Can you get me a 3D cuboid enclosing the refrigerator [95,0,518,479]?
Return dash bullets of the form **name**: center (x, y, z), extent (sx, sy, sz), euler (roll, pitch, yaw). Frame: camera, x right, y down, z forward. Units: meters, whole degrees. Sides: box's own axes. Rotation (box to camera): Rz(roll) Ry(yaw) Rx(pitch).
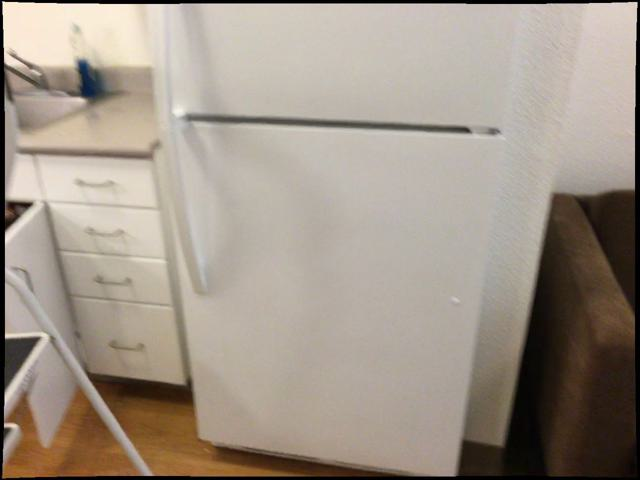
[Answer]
- **refrigerator**: center (-0.010, -0.010, 1.350), extent (0.778, 1.553, 0.170), euler (4, 29, 12)
